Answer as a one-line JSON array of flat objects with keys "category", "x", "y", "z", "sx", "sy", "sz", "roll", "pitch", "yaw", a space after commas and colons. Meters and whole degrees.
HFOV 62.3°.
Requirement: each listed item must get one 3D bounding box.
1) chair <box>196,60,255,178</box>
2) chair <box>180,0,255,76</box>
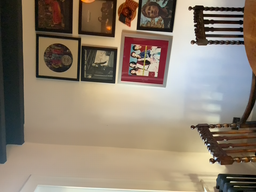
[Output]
[{"category": "chair", "x": 1.030, "y": 0.140, "z": 1.320, "sx": 0.450, "sy": 0.980, "sz": 0.560, "roll": -93, "pitch": 6, "yaw": -63}, {"category": "chair", "x": 1.030, "y": -0.540, "z": 1.910, "sx": 0.550, "sy": 0.950, "sz": 0.490, "roll": 100, "pitch": 173, "yaw": -67}]
